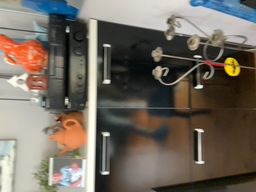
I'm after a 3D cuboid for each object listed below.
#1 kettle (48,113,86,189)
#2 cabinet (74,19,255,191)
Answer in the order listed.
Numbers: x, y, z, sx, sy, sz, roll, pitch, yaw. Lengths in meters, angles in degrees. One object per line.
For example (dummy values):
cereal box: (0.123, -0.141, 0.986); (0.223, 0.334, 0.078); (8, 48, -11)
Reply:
kettle: (-0.350, 0.270, 1.180); (0.350, 0.160, 0.340); (174, 97, -67)
cabinet: (0.290, 0.080, 1.440); (0.380, 1.220, 0.880); (171, 99, -67)
